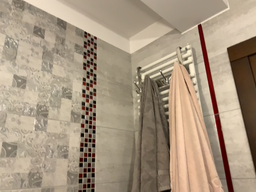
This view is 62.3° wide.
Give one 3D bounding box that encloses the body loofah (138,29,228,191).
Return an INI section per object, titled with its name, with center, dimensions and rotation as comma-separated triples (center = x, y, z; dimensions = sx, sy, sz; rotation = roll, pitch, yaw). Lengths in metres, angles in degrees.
[body loofah]
center = 0.260, 0.310, 0.960
dimensions = 0.270, 1.200, 0.250
rotation = -15, -23, 31

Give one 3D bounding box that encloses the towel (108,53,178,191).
[towel]
center = 0.070, 0.270, 1.150
dimensions = 0.240, 0.940, 0.260
rotation = -20, -26, 40
